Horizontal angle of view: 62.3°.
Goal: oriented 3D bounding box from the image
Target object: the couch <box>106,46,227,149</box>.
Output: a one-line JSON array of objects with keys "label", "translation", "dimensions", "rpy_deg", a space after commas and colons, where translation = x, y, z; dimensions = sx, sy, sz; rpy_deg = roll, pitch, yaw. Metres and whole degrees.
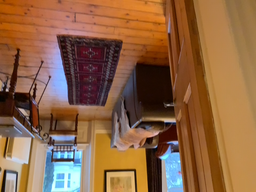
[{"label": "couch", "translation": [0.310, 0.280, 3.490], "dimensions": [1.060, 0.860, 2.440], "rpy_deg": [2, 159, -12]}]

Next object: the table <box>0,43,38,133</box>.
[{"label": "table", "translation": [-1.500, -0.030, 2.570], "dimensions": [0.510, 0.770, 1.010], "rpy_deg": [3, 159, -12]}]
